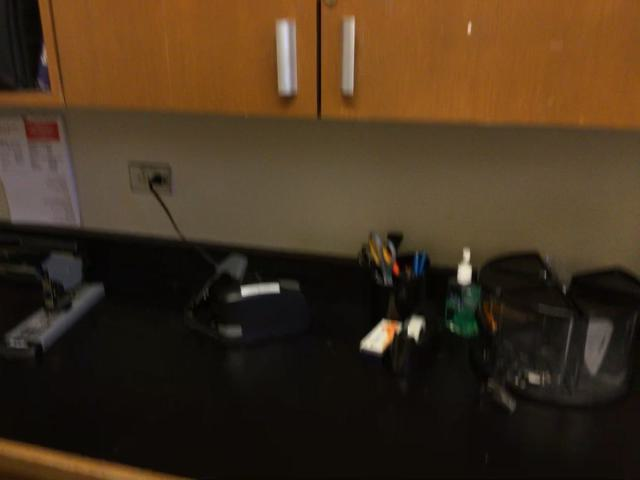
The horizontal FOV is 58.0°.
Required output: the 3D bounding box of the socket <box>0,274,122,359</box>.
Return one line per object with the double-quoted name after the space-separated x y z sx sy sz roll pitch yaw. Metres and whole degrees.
-0.530 0.150 1.210 0.090 0.050 0.300 2 17 8 "socket"
